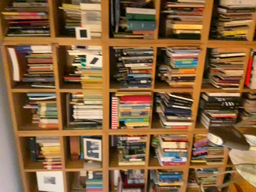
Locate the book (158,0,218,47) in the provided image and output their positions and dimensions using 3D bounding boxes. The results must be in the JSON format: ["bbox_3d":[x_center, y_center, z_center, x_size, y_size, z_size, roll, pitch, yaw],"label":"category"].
[{"bbox_3d":[0.480,-0.640,1.770,0.320,0.360,0.410,-105,15,-70],"label":"book"}]

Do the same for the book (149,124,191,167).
[{"bbox_3d":[0.410,0.490,2.140,0.250,0.330,0.330,-105,15,-70],"label":"book"}]

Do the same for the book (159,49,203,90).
[{"bbox_3d":[0.460,-0.250,1.930,0.330,0.270,0.310,-105,15,-70],"label":"book"}]

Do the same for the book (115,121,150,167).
[{"bbox_3d":[0.030,0.480,2.180,0.360,0.320,0.320,-107,18,-73],"label":"book"}]

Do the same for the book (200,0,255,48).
[{"bbox_3d":[0.900,-0.640,1.820,0.330,0.390,0.390,-102,13,-66],"label":"book"}]

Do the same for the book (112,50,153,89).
[{"bbox_3d":[0.020,-0.250,1.910,0.310,0.330,0.300,-107,17,-73],"label":"book"}]

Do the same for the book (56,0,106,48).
[{"bbox_3d":[-0.360,-0.640,1.760,0.410,0.350,0.420,-105,15,-70],"label":"book"}]

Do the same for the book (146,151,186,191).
[{"bbox_3d":[0.400,0.840,2.320,0.290,0.330,0.360,-102,13,-66],"label":"book"}]

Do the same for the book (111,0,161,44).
[{"bbox_3d":[0.050,-0.640,1.760,0.280,0.370,0.380,-106,17,-72],"label":"book"}]

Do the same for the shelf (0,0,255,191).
[{"bbox_3d":[0.140,0.080,2.100,0.480,2.480,4.360,-104,15,-70],"label":"shelf"}]

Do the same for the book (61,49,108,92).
[{"bbox_3d":[-0.360,-0.230,1.860,0.300,0.360,0.300,-102,13,-66],"label":"book"}]
